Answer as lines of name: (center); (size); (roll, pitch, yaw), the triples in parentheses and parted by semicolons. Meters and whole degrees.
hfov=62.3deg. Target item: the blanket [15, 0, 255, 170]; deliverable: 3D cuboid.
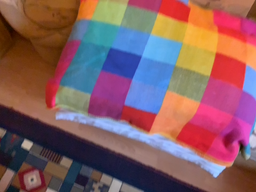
blanket: (0.120, -0.170, 0.930); (0.820, 0.300, 0.670); (19, 67, 6)
